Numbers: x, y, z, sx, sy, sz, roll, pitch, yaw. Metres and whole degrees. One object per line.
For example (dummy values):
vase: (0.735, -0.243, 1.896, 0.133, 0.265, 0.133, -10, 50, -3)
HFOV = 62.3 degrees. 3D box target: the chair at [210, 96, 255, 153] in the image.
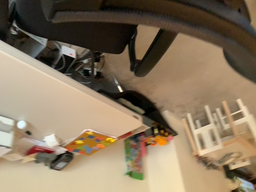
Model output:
chair: (1.240, 0.340, 2.470, 0.310, 0.520, 0.290, -30, 140, 29)

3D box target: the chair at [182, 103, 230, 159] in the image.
chair: (0.920, 0.420, 2.530, 0.290, 0.520, 0.340, -30, 140, 29)
